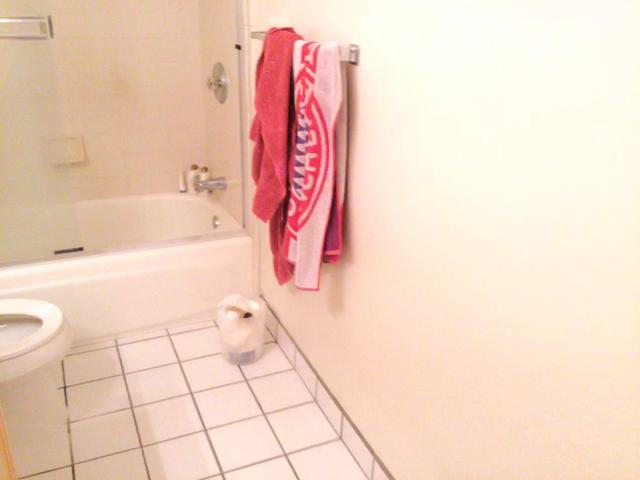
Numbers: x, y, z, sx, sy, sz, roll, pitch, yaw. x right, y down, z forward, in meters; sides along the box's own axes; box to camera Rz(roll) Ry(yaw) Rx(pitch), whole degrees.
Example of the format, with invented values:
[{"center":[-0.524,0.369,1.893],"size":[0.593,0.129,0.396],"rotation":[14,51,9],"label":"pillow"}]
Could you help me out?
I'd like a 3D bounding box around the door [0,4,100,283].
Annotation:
[{"center":[-1.260,-0.300,2.000],"size":[0.790,0.940,0.170],"rotation":[-10,23,-22],"label":"door"}]
